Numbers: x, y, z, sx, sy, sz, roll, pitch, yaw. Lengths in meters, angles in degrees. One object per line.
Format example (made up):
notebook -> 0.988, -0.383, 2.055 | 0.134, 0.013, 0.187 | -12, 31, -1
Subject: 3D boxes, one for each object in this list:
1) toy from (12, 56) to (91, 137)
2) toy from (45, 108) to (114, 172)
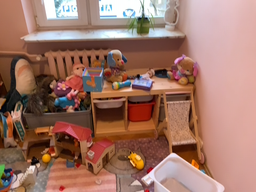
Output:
toy -> -0.690, -0.020, 2.130 | 0.540, 0.570, 0.600 | -2, 32, -4
toy -> -0.380, 0.360, 1.790 | 0.460, 0.350, 0.280 | 9, 33, 12
